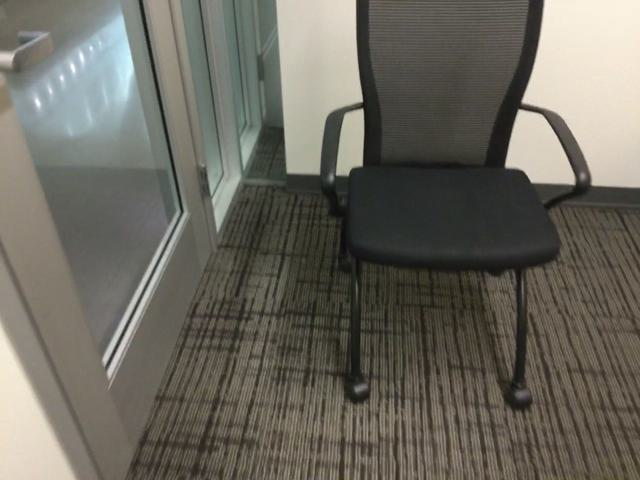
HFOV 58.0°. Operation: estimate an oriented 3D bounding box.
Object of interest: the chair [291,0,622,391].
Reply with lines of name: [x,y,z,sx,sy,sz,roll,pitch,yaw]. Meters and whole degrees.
chair: [0.270,-0.150,1.460,0.540,0.890,0.590,0,37,6]
